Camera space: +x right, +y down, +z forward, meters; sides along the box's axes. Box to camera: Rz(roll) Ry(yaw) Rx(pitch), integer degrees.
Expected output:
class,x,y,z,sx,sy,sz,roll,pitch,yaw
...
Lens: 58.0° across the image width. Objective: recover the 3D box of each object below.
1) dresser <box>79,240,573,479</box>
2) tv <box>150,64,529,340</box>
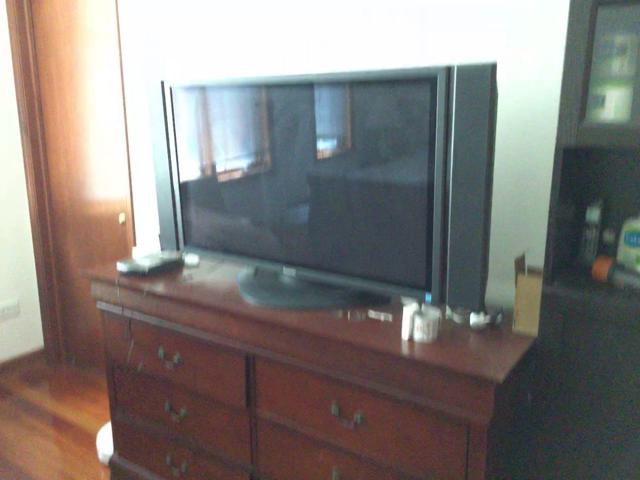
class,x,y,z,sx,sy,sz,roll,pitch,yaw
dresser,-0.060,0.580,1.840,1.450,0.940,0.500,8,13,31
tv,-0.020,-0.150,1.680,1.120,0.630,0.190,8,13,31
